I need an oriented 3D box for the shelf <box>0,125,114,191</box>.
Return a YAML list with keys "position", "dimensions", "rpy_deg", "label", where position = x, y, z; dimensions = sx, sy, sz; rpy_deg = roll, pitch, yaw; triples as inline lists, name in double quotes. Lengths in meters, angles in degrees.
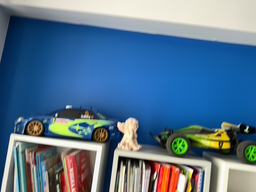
- position: [-0.290, 0.350, 0.880]
  dimensions: [0.390, 0.380, 0.270]
  rpy_deg: [9, -3, 2]
  label: "shelf"
